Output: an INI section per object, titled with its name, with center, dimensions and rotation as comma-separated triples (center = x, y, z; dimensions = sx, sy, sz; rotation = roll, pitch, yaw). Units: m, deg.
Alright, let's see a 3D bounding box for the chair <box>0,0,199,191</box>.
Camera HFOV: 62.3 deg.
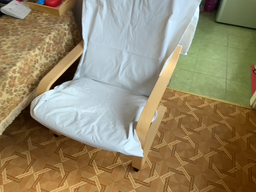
[chair]
center = -0.100, -0.160, 1.310
dimensions = 0.730, 0.930, 0.930
rotation = 18, 48, 14
